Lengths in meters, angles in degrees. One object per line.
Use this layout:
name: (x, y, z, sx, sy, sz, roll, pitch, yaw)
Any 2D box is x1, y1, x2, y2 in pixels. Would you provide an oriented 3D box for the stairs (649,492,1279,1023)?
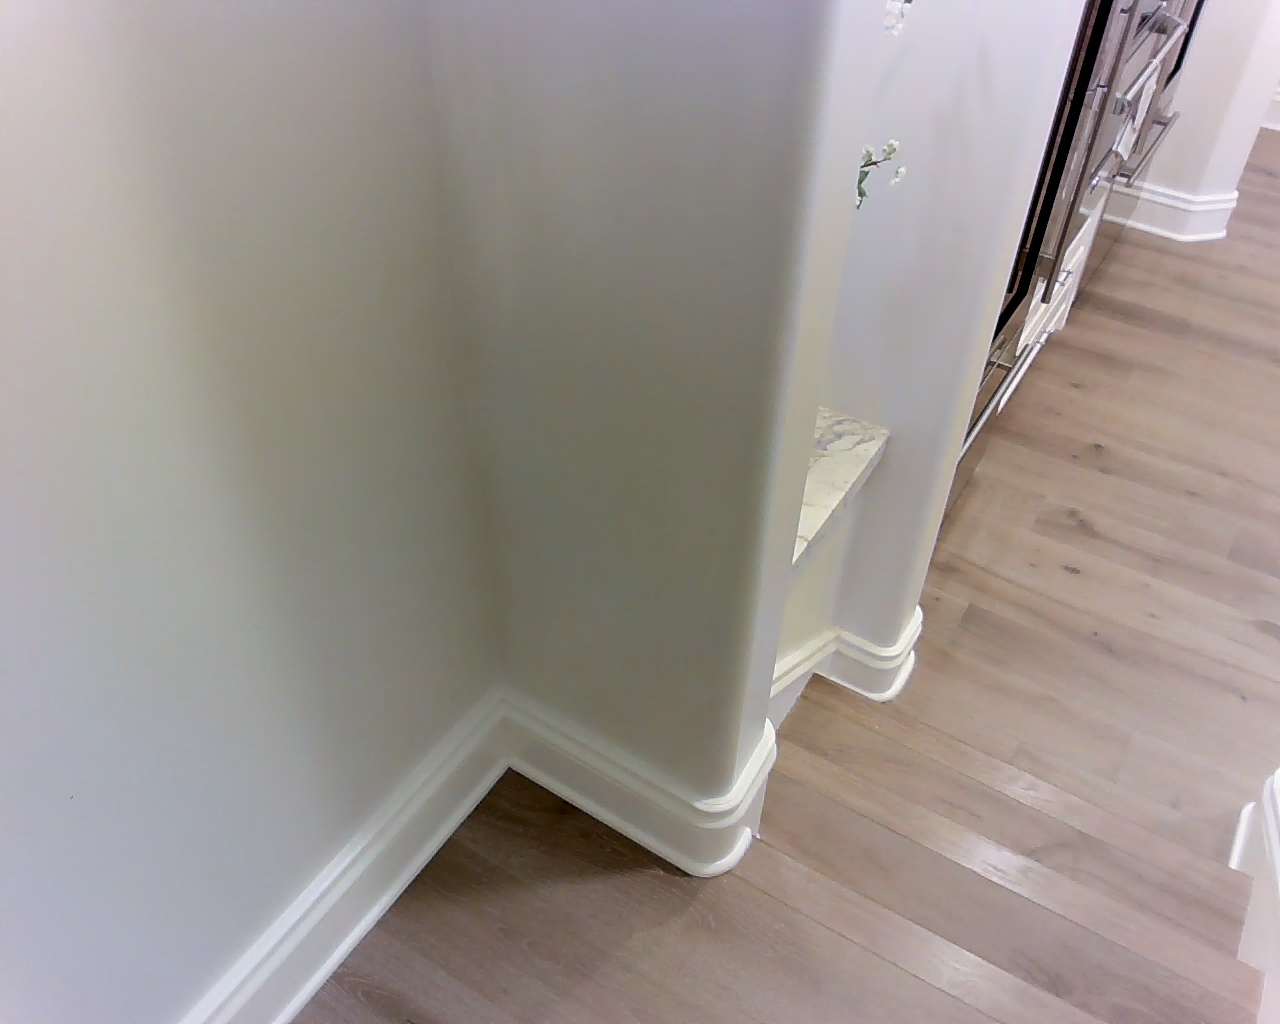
stairs: (0.670, 0.660, 2.060, 1.020, 0.780, 0.800, 24, 47, 23)
